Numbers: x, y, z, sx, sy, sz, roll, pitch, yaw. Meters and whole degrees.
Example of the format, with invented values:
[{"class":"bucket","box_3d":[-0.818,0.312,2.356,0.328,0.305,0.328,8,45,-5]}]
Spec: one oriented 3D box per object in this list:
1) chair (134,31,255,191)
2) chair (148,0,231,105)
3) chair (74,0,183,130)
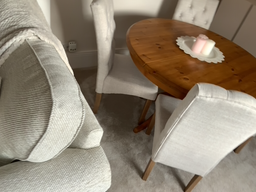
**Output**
[{"class":"chair","box_3d":[0.390,0.190,1.350,0.410,0.930,0.590,16,41,-2]},{"class":"chair","box_3d":[0.540,-0.470,2.140,0.380,0.940,0.540,16,41,-2]},{"class":"chair","box_3d":[-0.040,-0.250,1.710,0.610,0.910,0.420,16,41,-2]}]
